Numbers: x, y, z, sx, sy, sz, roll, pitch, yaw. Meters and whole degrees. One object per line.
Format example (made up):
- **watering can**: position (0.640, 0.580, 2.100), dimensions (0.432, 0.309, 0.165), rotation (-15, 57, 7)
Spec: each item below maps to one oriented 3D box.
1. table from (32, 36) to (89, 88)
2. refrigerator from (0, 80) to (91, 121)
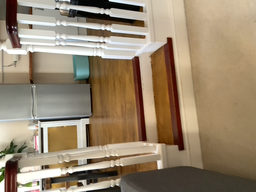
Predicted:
- **table**: position (-1.210, -0.550, 3.760), dimensions (0.610, 0.880, 0.740), rotation (161, 107, -67)
- **refrigerator**: position (-1.520, 0.090, 3.480), dimensions (0.710, 1.680, 0.570), rotation (161, 107, -67)
